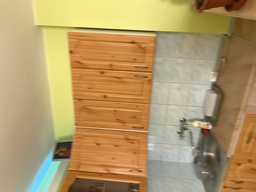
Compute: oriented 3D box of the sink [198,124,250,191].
[{"bbox_3d":[0.920,0.660,2.130,0.490,0.220,0.550,-81,-6,-65],"label":"sink"}]
